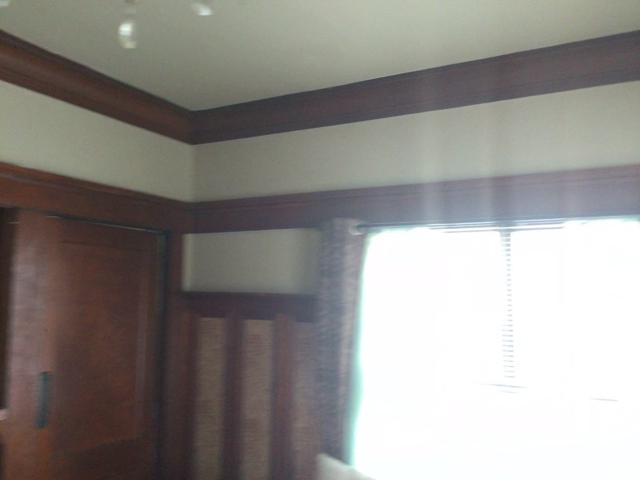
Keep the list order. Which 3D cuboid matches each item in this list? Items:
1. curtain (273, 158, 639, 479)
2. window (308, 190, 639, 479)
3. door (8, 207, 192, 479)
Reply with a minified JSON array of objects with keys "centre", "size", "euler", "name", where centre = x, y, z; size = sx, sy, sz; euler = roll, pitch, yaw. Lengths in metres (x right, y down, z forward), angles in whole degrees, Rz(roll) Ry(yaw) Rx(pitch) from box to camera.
[{"centre":[0.680,0.440,2.500],"size":[1.700,1.450,0.350],"euler":[-1,-12,26],"name":"curtain"},{"centre":[0.770,0.560,2.500],"size":[1.510,1.440,0.300],"euler":[6,-5,29],"name":"window"},{"centre":[-1.090,0.900,2.890],"size":[0.190,1.980,0.800],"euler":[-1,-12,26],"name":"door"}]
